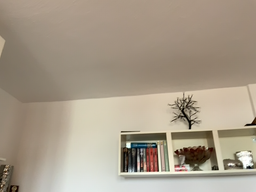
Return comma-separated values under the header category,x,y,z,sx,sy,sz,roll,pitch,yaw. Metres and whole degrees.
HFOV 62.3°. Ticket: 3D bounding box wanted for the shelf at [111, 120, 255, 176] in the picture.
category,x,y,z,sx,sy,sz,roll,pitch,yaw
shelf,0.530,0.450,1.800,1.330,0.390,0.210,-4,-25,9
